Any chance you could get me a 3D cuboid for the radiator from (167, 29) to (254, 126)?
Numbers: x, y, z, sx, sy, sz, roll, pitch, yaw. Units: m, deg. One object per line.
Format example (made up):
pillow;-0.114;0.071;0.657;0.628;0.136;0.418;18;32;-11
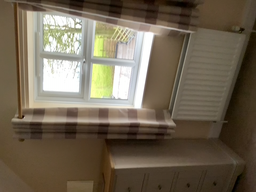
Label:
radiator;0.730;-0.130;1.930;0.090;0.590;0.850;-121;37;-66
